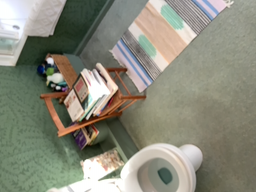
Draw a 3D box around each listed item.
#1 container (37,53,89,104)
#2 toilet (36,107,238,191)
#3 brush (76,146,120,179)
[{"bbox_3d":[-0.560,-0.150,1.810,0.190,0.240,0.380,-46,67,31],"label":"container"},{"bbox_3d":[0.060,0.540,1.220,0.680,0.820,0.570,-48,66,30],"label":"toilet"},{"bbox_3d":[-0.210,0.470,1.530,0.110,0.300,0.100,-48,66,30],"label":"brush"}]
